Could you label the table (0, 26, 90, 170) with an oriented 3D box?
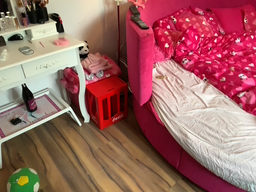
[{"bbox_3d":[-0.810,0.000,1.610,0.840,0.760,0.480,-24,44,-29],"label":"table"}]
